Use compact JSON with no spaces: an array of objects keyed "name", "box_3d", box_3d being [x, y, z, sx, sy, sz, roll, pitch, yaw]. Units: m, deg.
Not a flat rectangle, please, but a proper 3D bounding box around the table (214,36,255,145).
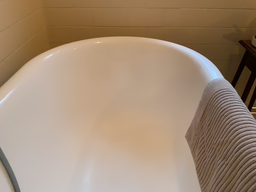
[{"name":"table","box_3d":[0.730,-0.010,1.270,0.220,0.630,0.220,2,35,2]}]
